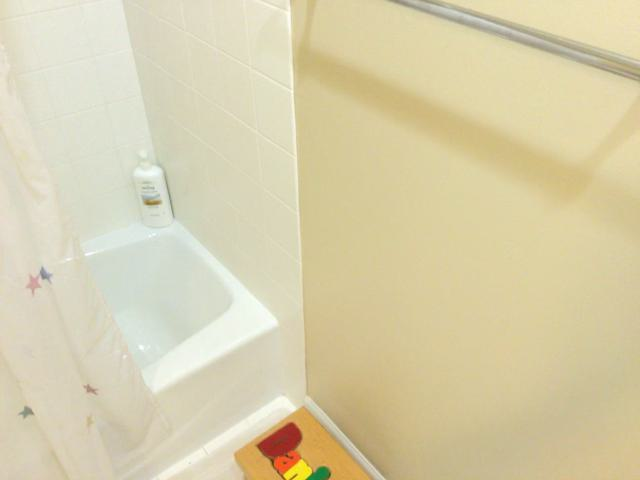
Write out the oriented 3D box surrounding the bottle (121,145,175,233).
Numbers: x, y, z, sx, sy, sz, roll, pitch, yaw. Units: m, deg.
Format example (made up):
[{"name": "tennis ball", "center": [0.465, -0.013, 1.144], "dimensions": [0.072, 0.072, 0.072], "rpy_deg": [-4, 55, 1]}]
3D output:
[{"name": "bottle", "center": [-0.580, -0.170, 1.960], "dimensions": [0.100, 0.270, 0.090], "rpy_deg": [-27, 46, -29]}]
